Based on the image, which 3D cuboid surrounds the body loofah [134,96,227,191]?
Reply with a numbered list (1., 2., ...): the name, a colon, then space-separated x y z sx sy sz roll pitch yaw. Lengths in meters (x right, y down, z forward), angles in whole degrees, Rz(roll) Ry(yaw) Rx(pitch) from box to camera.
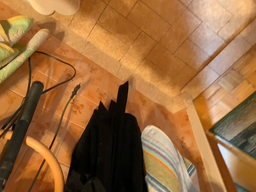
1. body loofah: 0.160 0.300 0.580 0.280 0.700 0.110 33 118 -18
